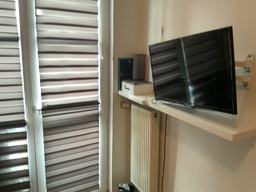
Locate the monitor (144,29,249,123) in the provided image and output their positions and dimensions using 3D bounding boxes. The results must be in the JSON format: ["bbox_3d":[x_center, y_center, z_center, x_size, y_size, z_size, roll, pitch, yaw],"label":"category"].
[{"bbox_3d":[0.370,-0.140,1.410,0.110,0.460,0.790,-1,7,-27],"label":"monitor"}]

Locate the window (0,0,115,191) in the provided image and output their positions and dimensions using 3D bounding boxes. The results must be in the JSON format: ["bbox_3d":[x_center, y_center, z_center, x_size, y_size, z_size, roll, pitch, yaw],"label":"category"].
[{"bbox_3d":[-0.870,-0.030,1.930,1.510,2.670,0.250,-5,13,-29],"label":"window"}]
